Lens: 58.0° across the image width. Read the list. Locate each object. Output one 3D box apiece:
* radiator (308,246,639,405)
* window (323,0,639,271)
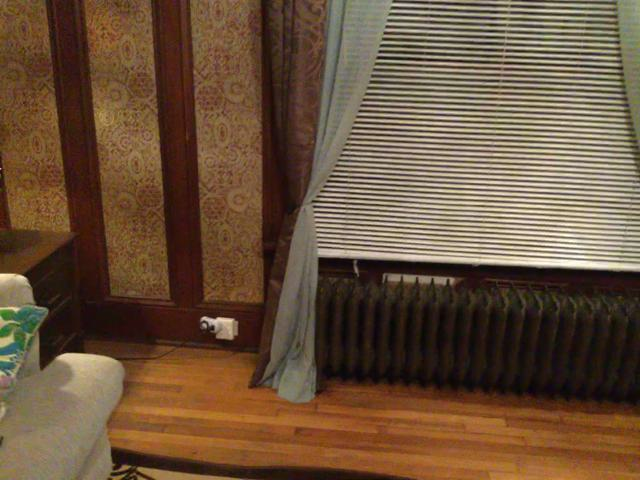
[{"bbox_3d":[0.640,0.330,2.340,1.350,0.530,0.270,1,16,5],"label":"radiator"},{"bbox_3d":[0.630,-0.630,2.110,1.230,1.490,0.140,1,16,5],"label":"window"}]
